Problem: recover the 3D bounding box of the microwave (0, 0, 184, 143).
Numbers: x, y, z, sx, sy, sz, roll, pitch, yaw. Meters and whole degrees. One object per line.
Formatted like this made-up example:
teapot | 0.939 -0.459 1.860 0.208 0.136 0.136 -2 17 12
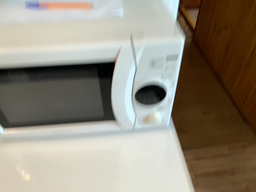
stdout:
microwave | -0.150 -0.110 0.600 0.480 0.320 0.330 -3 44 -3
